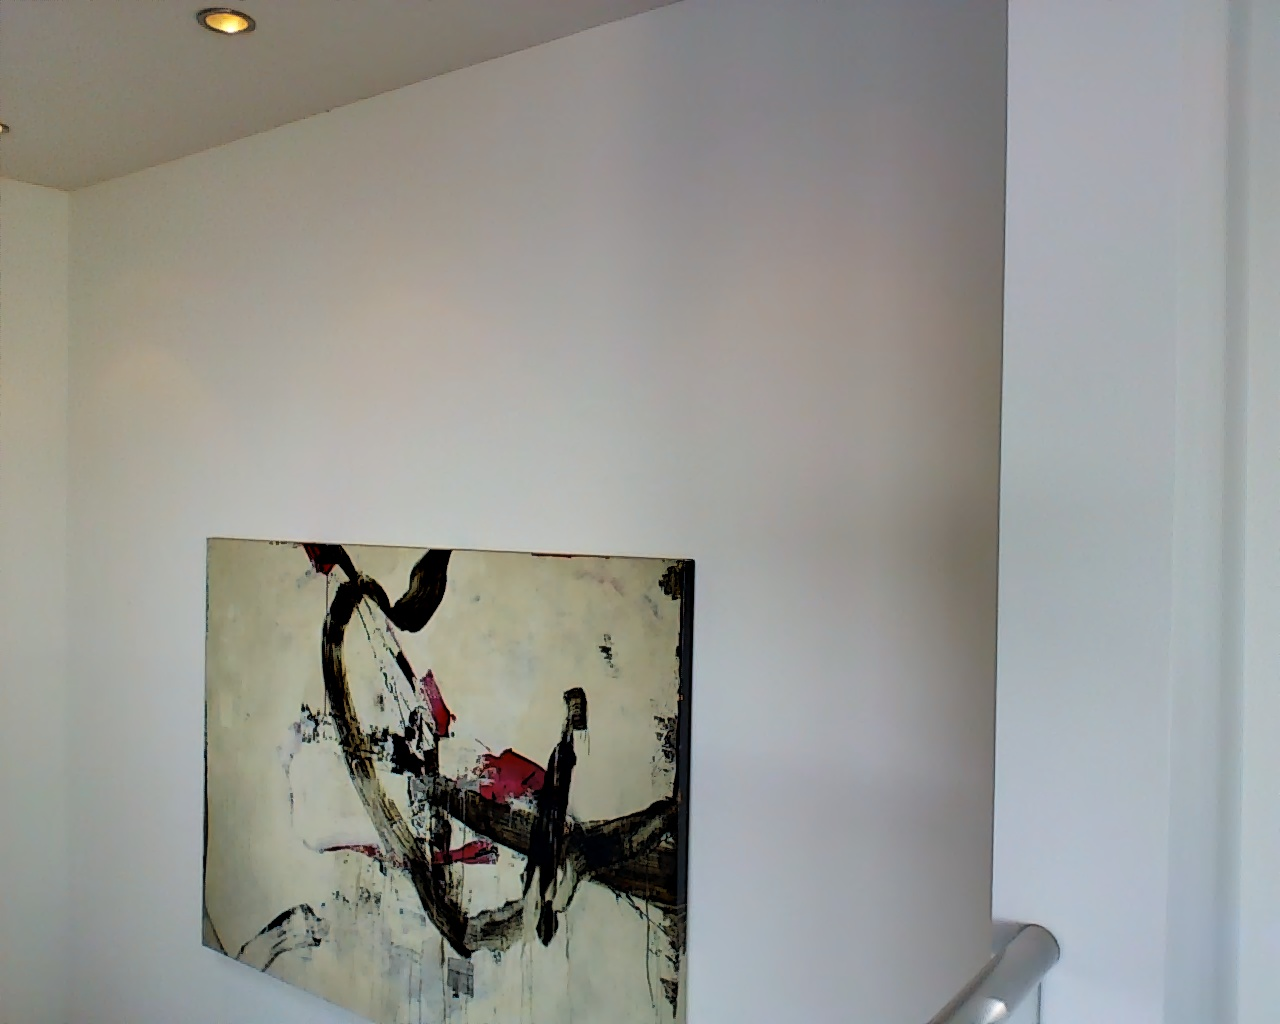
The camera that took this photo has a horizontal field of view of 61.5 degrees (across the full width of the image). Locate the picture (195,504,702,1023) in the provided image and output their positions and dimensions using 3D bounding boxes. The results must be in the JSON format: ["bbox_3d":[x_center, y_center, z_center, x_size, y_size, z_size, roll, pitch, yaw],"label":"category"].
[{"bbox_3d":[-0.630,0.670,2.850,1.830,1.370,0.060,1,0,36],"label":"picture"}]
